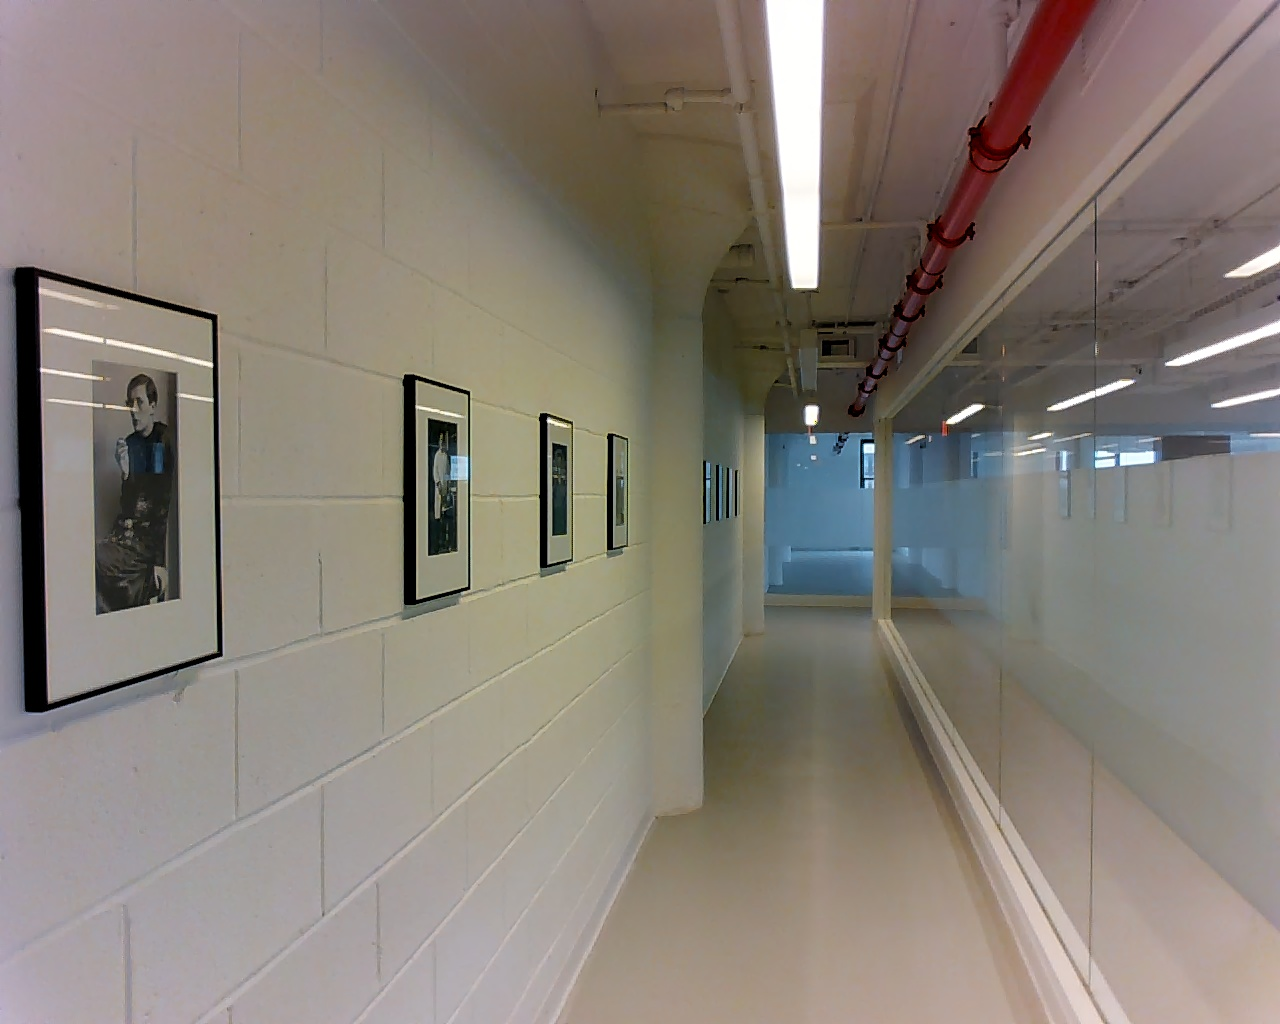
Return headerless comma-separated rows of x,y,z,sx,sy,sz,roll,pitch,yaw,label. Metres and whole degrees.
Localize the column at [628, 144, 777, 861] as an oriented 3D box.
0.340,-0.040,5.050,0.580,2.891,1.400,0,1,8,column
